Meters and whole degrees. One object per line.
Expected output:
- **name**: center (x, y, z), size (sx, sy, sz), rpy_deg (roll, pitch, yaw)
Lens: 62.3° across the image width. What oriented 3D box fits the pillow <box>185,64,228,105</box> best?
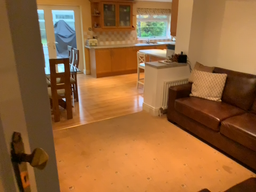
- **pillow**: center (1.160, -0.180, 3.190), size (0.480, 0.430, 0.210), rpy_deg (25, 43, 27)
